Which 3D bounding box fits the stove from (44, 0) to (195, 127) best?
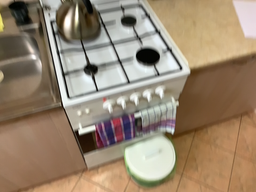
[{"bbox_3d":[-0.080,-0.230,1.010,0.500,0.180,0.620,-15,57,-13],"label":"stove"}]
